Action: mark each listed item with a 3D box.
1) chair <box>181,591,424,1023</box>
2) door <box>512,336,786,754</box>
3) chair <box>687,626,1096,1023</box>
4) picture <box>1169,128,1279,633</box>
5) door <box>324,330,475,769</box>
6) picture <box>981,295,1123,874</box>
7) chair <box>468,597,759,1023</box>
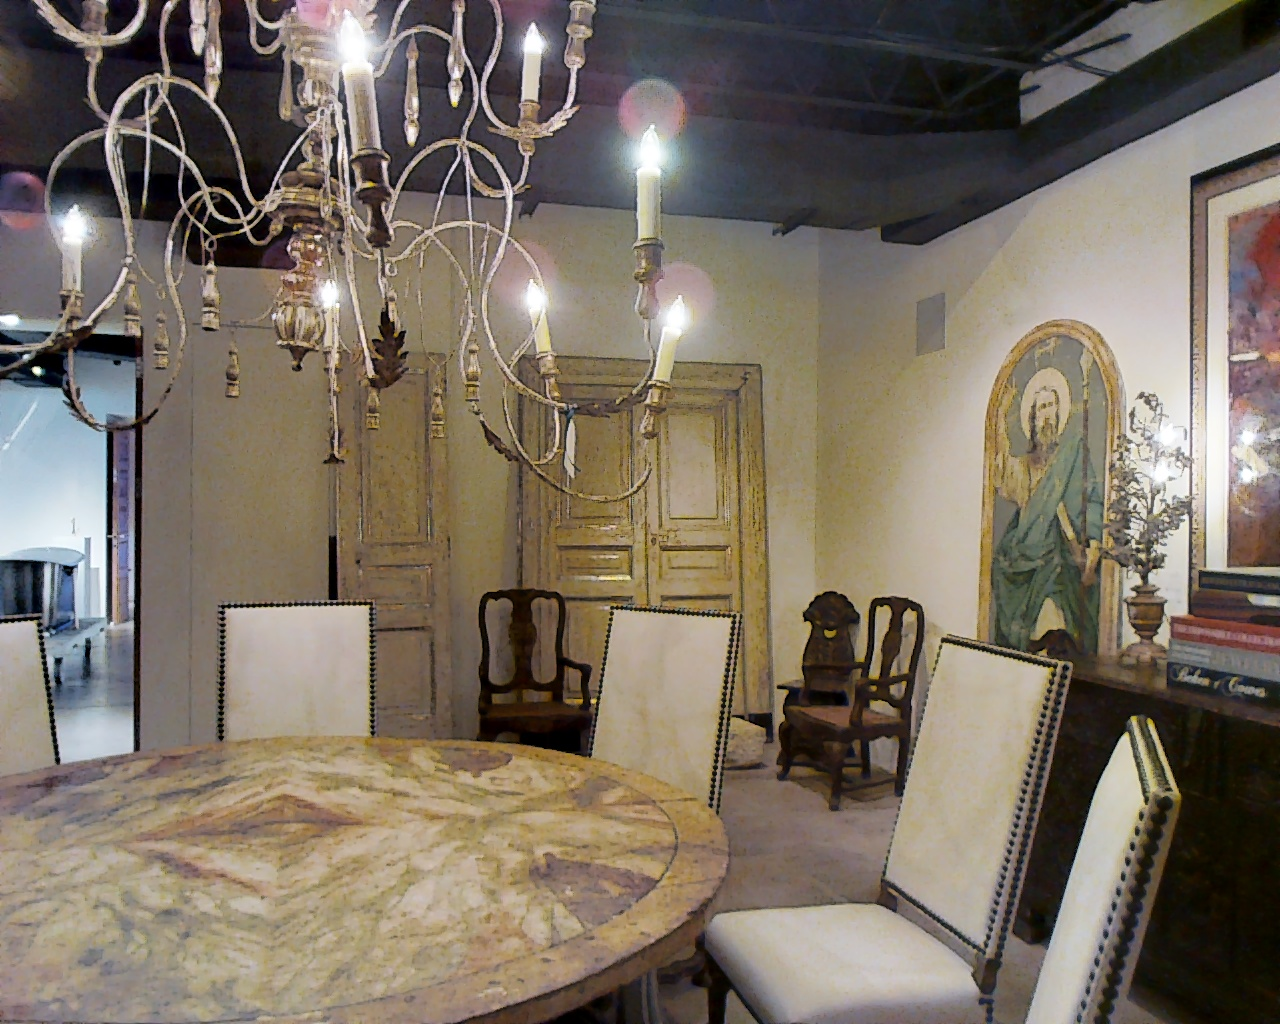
[{"bbox_3d":[-1.030,0.850,3.350,0.630,1.130,0.800,1,1,-16],"label":"chair"},{"bbox_3d":[0.080,0.170,6.670,1.560,2.450,0.130,-5,2,-16],"label":"door"},{"bbox_3d":[0.570,0.880,2.590,0.750,1.130,0.590,1,1,-16],"label":"chair"},{"bbox_3d":[2.220,-0.420,3.140,0.130,1.630,1.610,1,1,-16],"label":"picture"},{"bbox_3d":[-1.330,0.200,5.970,0.580,2.370,0.140,-6,3,-13],"label":"door"},{"bbox_3d":[1.790,0.290,4.730,0.050,2.330,0.870,-2,1,-15],"label":"picture"},{"bbox_3d":[-0.060,0.870,3.360,0.600,1.120,0.740,1,1,30],"label":"chair"}]
